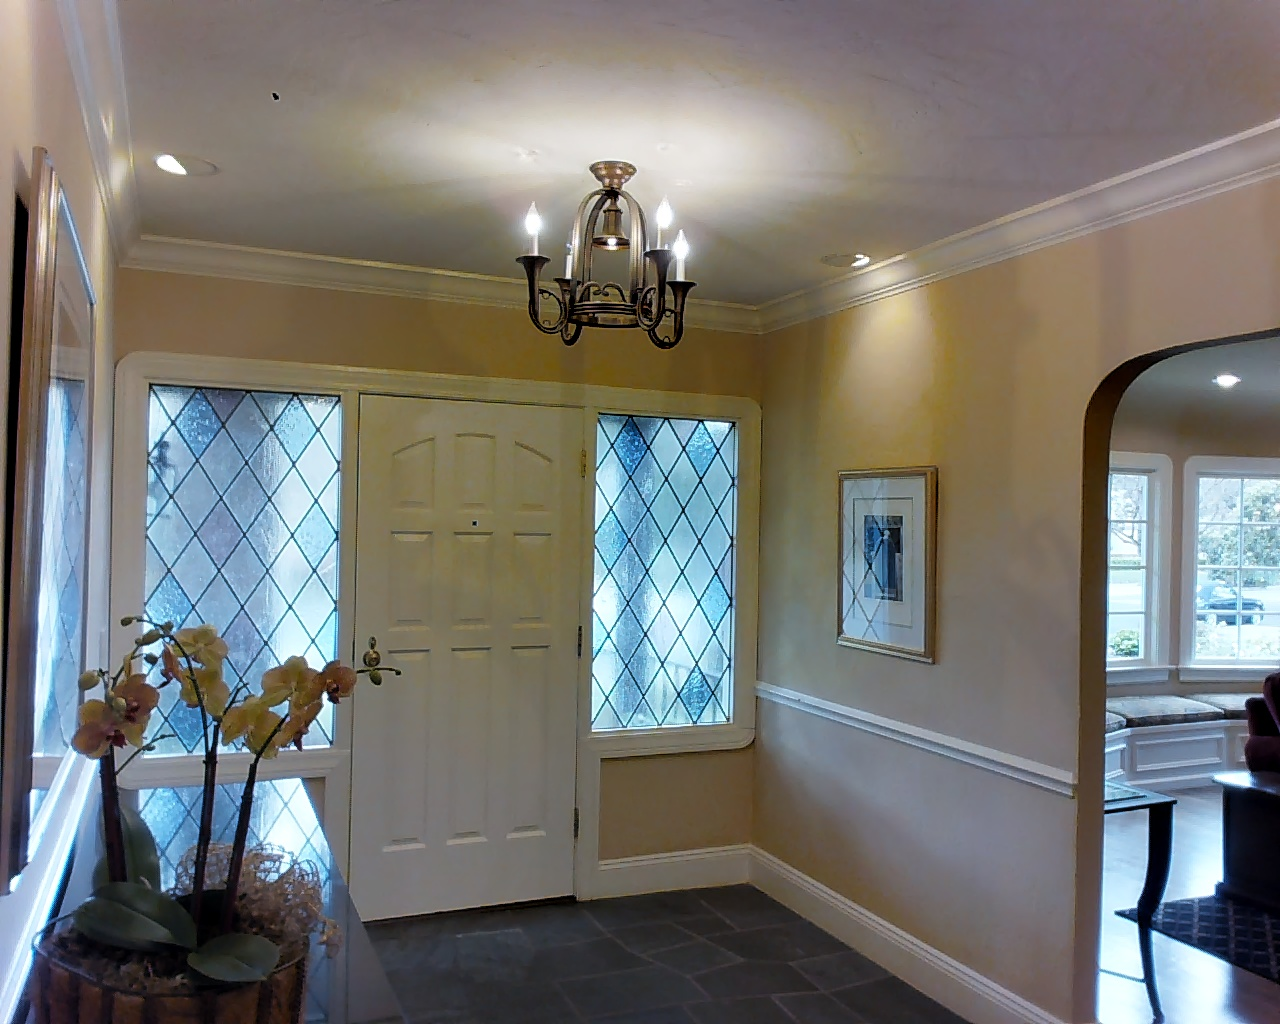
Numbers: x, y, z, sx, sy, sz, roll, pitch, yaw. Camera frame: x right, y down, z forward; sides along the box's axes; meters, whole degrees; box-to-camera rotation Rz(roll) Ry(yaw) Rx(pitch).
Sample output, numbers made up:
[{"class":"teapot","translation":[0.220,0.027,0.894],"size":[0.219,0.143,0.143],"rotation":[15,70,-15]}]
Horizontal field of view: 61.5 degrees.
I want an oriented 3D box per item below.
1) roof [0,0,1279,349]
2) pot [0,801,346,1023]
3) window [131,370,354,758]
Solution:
[{"class":"roof","translation":[-0.520,-0.870,0.950],"size":[4.999,0.200,6.220],"rotation":[1,0,-23]},{"class":"pot","translation":[-0.600,0.570,1.390],"size":[0.390,0.290,0.350],"rotation":[1,0,-10]},{"class":"window","translation":[-1.460,0.190,3.990],"size":[0.740,1.370,0.100],"rotation":[1,0,-23]}]
